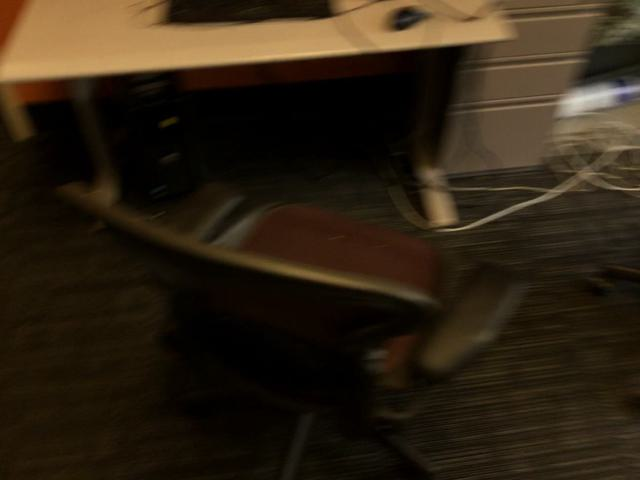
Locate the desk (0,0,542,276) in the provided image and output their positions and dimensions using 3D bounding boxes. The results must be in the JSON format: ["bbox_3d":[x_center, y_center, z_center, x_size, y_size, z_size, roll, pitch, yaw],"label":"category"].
[{"bbox_3d":[-0.200,-0.490,1.770,1.310,0.820,0.780,-3,48,-2],"label":"desk"}]
